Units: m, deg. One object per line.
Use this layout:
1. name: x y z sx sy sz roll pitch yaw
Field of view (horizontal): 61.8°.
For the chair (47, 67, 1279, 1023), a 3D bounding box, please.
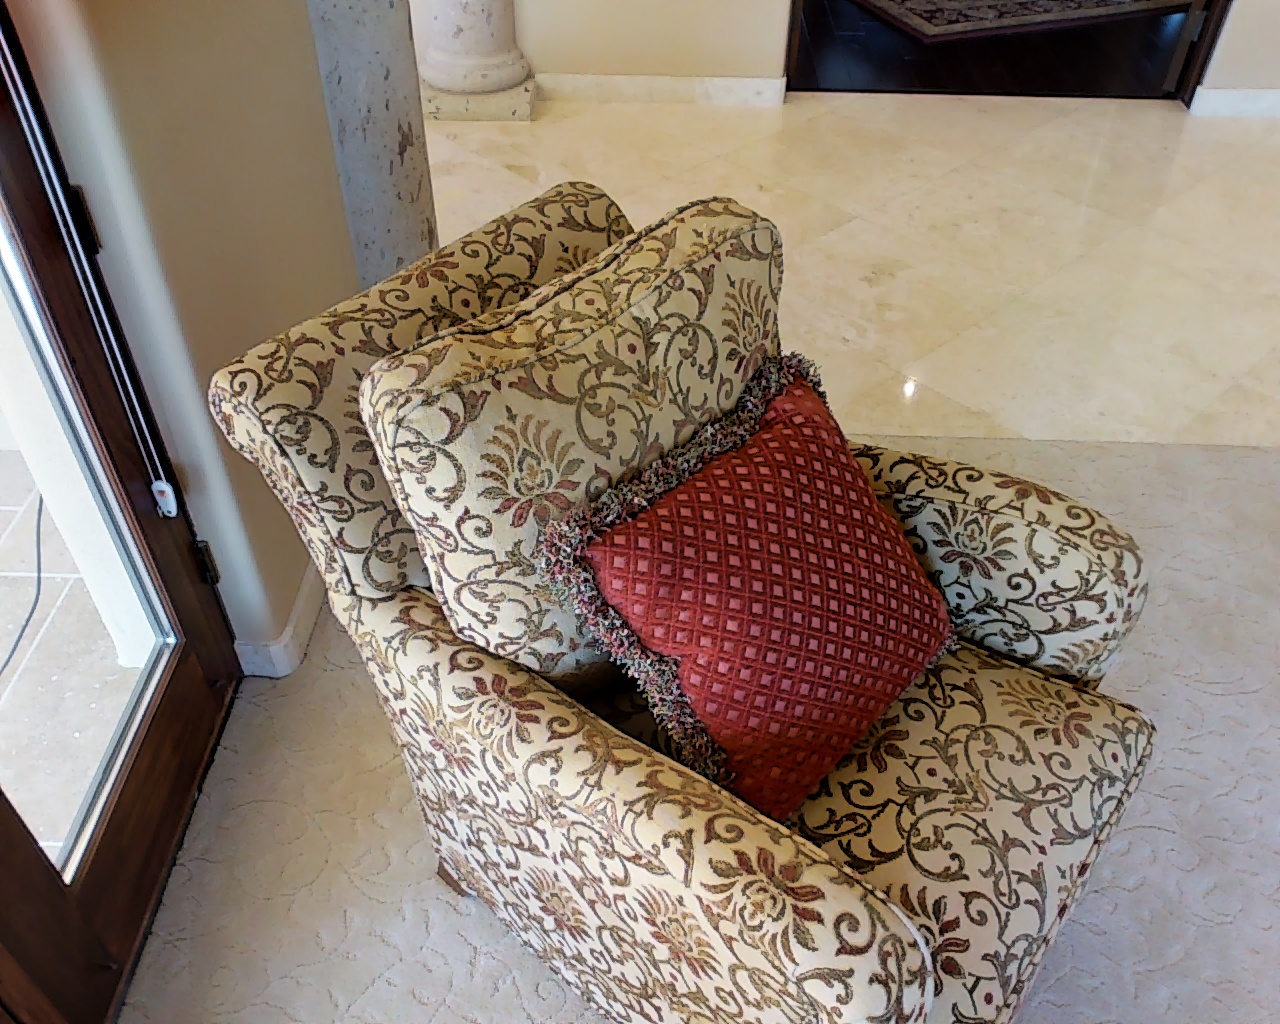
1. chair: 0.130 0.150 1.440 1.170 0.960 0.910 26 49 26
